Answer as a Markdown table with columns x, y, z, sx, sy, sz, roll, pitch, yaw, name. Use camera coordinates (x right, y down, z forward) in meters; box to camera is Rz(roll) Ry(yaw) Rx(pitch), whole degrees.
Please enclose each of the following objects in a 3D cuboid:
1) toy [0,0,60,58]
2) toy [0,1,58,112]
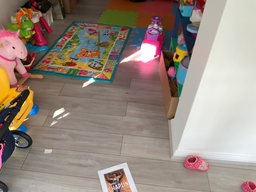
| x | y | z | sx | sy | sz | roll | pitch | yaw | name |
| --- | --- | --- | --- | --- | --- | --- | --- | --- | --- |
| -1.260 | -0.900 | 2.650 | 0.500 | 0.490 | 0.690 | 7 | 42 | 4 | toy |
| -1.250 | -0.420 | 2.000 | 0.770 | 0.620 | 0.860 | 7 | 42 | 4 | toy |
